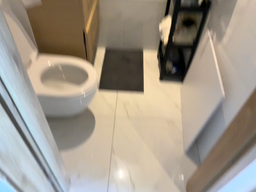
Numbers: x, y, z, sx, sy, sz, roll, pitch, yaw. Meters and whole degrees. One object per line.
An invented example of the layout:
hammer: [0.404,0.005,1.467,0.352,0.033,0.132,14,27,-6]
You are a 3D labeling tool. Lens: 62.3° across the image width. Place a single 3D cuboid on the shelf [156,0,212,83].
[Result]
shelf: [0.420,-0.610,1.680,0.230,1.000,0.410,5,49,-1]
